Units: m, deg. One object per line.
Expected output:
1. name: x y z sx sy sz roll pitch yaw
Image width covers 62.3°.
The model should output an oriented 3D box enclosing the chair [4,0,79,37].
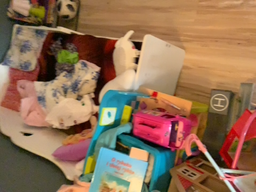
1. chair: -0.860 -0.850 2.140 0.390 0.550 0.340 18 100 37
